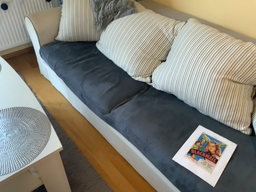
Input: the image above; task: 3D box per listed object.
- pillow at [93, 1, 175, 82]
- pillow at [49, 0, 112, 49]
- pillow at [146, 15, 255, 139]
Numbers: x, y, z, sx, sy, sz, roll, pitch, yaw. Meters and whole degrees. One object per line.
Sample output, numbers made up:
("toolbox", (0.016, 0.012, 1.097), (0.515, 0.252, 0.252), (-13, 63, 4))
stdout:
("pillow", (0.020, -0.440, 1.630), (0.290, 0.370, 0.550), (-29, 50, -32))
("pillow", (-0.420, -0.730, 1.840), (0.470, 0.420, 0.250), (34, 61, 31))
("pillow", (0.480, -0.150, 1.270), (0.650, 0.400, 0.340), (34, 51, 31))
